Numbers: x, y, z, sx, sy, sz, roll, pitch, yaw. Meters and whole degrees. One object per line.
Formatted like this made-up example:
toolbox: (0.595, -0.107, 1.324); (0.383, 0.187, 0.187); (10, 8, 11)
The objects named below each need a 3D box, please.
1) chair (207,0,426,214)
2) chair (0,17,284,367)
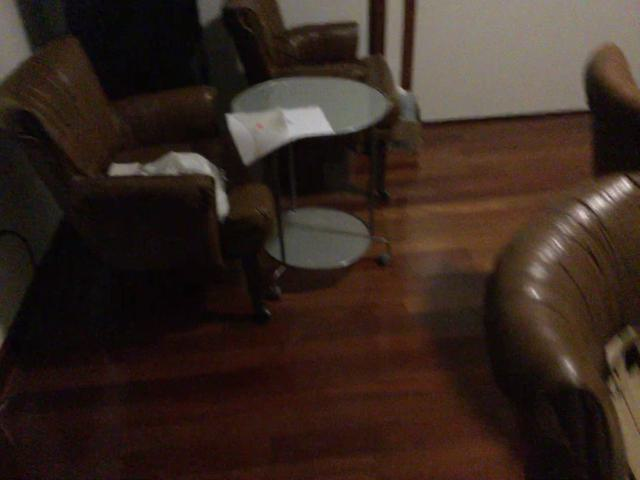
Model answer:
chair: (0.020, -0.620, 2.370); (0.710, 0.750, 0.710); (-1, 34, 4)
chair: (-0.480, -0.170, 1.760); (0.660, 0.780, 0.680); (-5, 34, -2)
